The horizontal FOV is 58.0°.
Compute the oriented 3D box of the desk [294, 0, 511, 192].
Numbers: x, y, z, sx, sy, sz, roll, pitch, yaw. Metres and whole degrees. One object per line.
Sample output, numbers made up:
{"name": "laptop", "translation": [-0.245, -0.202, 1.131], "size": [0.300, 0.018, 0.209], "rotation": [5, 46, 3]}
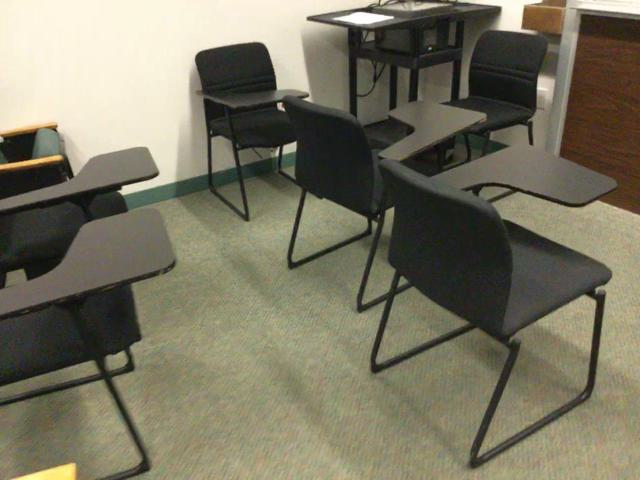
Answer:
{"name": "desk", "translation": [0.450, -0.950, 3.430], "size": [0.980, 0.960, 0.690], "rotation": [-17, 34, -28]}
